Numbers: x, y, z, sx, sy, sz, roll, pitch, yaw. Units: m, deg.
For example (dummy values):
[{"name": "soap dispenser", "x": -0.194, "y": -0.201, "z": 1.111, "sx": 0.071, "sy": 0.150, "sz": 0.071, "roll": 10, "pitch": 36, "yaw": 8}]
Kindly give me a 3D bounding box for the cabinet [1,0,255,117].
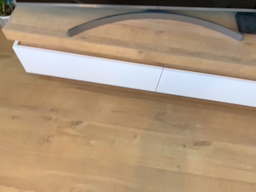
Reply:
[{"name": "cabinet", "x": 0.210, "y": -0.310, "z": 1.210, "sx": 1.460, "sy": 0.430, "sz": 0.550, "roll": 9, "pitch": 60, "yaw": 0}]
